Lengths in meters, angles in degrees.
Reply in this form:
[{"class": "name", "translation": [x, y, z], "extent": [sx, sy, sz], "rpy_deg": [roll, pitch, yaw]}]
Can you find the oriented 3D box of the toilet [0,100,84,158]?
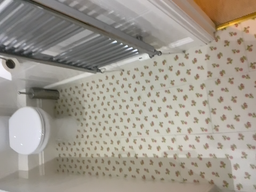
[{"class": "toilet", "translation": [-0.870, 0.270, 1.720], "extent": [0.620, 0.760, 0.360], "rpy_deg": [-12, 79, 36]}]
